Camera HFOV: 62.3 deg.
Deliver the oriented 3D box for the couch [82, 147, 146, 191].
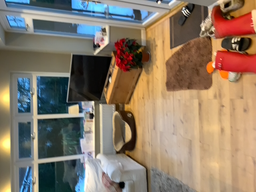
[{"bbox_3d":[-0.290,1.770,3.660,0.990,0.820,1.500,177,93,-67],"label":"couch"}]
